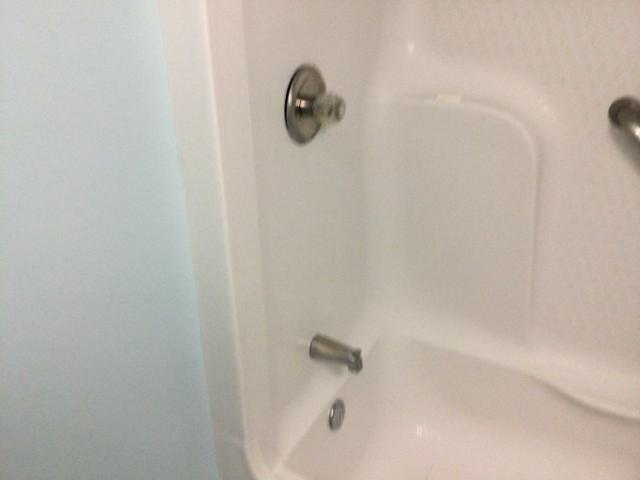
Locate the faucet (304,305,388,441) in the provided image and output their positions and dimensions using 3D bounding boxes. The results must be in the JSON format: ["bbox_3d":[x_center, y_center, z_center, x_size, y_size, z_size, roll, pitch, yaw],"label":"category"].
[{"bbox_3d":[0.070,0.350,1.550,0.140,0.260,0.200,14,29,26],"label":"faucet"}]
